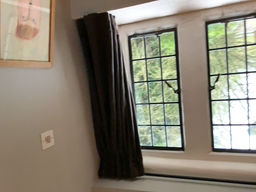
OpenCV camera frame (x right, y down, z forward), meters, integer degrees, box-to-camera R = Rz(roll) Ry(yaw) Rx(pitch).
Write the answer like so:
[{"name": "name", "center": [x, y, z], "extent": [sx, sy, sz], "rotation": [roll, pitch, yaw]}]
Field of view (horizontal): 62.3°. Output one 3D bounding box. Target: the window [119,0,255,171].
[{"name": "window", "center": [0.450, -0.040, 1.450], "extent": [0.950, 1.070, 0.110], "rotation": [-3, -174, 17]}]
